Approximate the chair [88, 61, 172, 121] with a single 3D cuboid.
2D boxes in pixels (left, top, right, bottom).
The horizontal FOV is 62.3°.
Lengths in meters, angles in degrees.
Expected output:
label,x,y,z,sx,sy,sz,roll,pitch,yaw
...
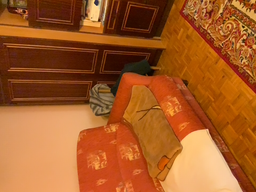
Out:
label,x,y,z,sx,sy,sz,roll,pitch,yaw
chair,-0.010,-0.050,2.500,0.550,0.800,0.400,112,149,-43
